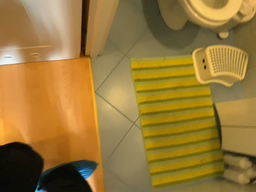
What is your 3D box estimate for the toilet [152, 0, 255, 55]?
[{"bbox_3d":[0.460,-0.650,1.100,0.420,0.760,0.640,-5,84,-14],"label":"toilet"}]
